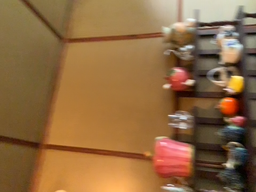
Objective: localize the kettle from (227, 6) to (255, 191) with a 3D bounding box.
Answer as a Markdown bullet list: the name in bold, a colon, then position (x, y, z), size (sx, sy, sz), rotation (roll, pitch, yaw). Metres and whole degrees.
- **kettle**: position (0.650, 0.030, 1.030), size (0.240, 0.240, 0.940), rotation (49, -135, -65)
